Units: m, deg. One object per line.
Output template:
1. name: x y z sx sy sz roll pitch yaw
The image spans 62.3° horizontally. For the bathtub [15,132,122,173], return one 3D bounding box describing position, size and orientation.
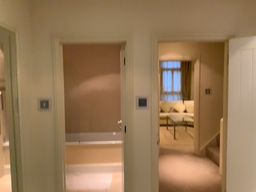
1. bathtub: -1.010 1.030 3.980 1.800 0.490 0.750 -1 4 -1
